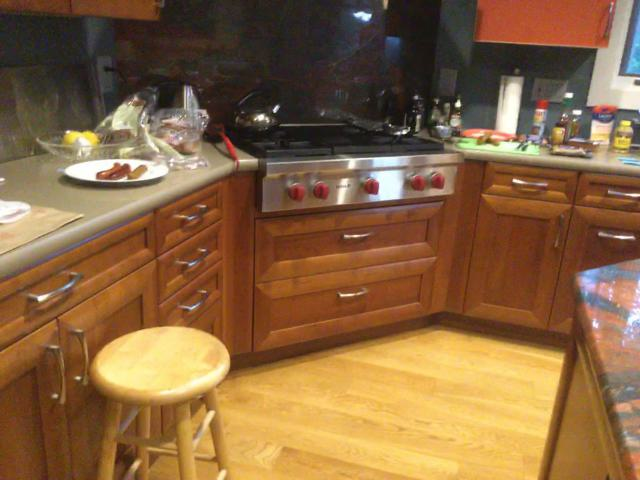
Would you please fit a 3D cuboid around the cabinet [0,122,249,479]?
[{"bbox_3d":[-0.550,0.270,1.490,0.190,0.940,1.320,12,22,12],"label":"cabinet"}]

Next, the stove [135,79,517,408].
[{"bbox_3d":[-0.040,-0.080,2.510,1.300,1.010,0.840,-5,24,-29],"label":"stove"}]

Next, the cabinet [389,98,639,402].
[{"bbox_3d":[1.330,0.110,2.380,1.900,1.050,0.330,12,22,11],"label":"cabinet"}]

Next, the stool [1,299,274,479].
[{"bbox_3d":[-0.440,0.550,1.480,0.490,0.600,0.380,12,22,11],"label":"stool"}]
